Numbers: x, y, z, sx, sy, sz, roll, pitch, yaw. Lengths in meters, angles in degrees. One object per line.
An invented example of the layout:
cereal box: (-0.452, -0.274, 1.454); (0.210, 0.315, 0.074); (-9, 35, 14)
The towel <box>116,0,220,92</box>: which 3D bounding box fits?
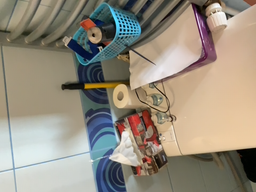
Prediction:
towel: (0.120, -0.160, 0.760); (0.320, 0.130, 0.210); (-23, 75, 47)
